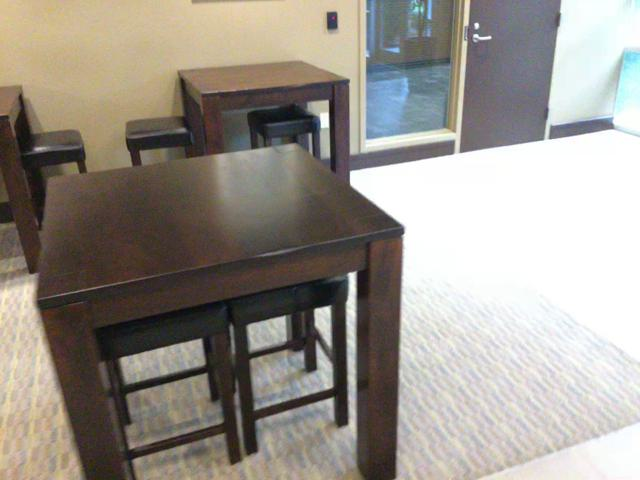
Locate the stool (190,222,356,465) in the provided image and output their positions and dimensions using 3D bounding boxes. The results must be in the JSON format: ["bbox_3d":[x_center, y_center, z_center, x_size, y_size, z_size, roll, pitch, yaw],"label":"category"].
[{"bbox_3d":[-0.170,0.350,2.110,0.450,0.650,0.450,-11,26,-19],"label":"stool"}]

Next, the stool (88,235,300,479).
[{"bbox_3d":[-0.430,0.410,2.010,0.580,0.650,0.430,-11,26,-19],"label":"stool"}]

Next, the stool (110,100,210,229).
[{"bbox_3d":[-1.080,-0.530,3.890,0.490,0.660,0.610,-11,26,-19],"label":"stool"}]
